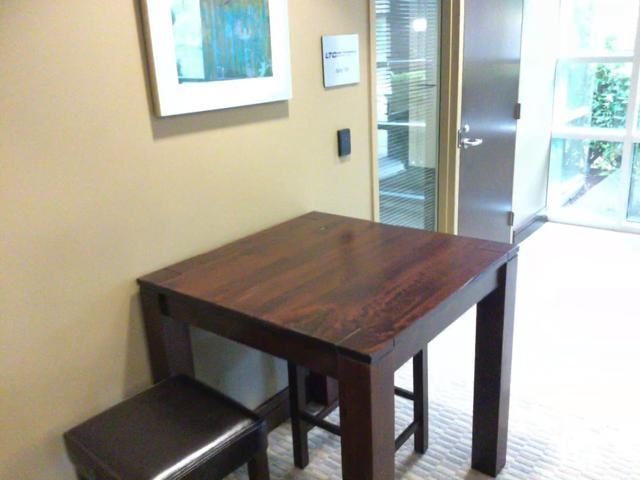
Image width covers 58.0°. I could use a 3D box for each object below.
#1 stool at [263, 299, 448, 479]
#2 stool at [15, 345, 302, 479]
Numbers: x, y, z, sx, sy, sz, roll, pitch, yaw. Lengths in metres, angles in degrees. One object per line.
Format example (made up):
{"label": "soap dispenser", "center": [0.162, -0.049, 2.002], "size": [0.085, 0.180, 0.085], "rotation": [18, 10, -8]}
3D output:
{"label": "stool", "center": [0.160, 0.610, 2.290], "size": [0.510, 0.530, 0.490], "rotation": [8, 22, 36]}
{"label": "stool", "center": [-0.440, 0.780, 1.730], "size": [0.610, 0.660, 0.490], "rotation": [8, 22, 36]}
